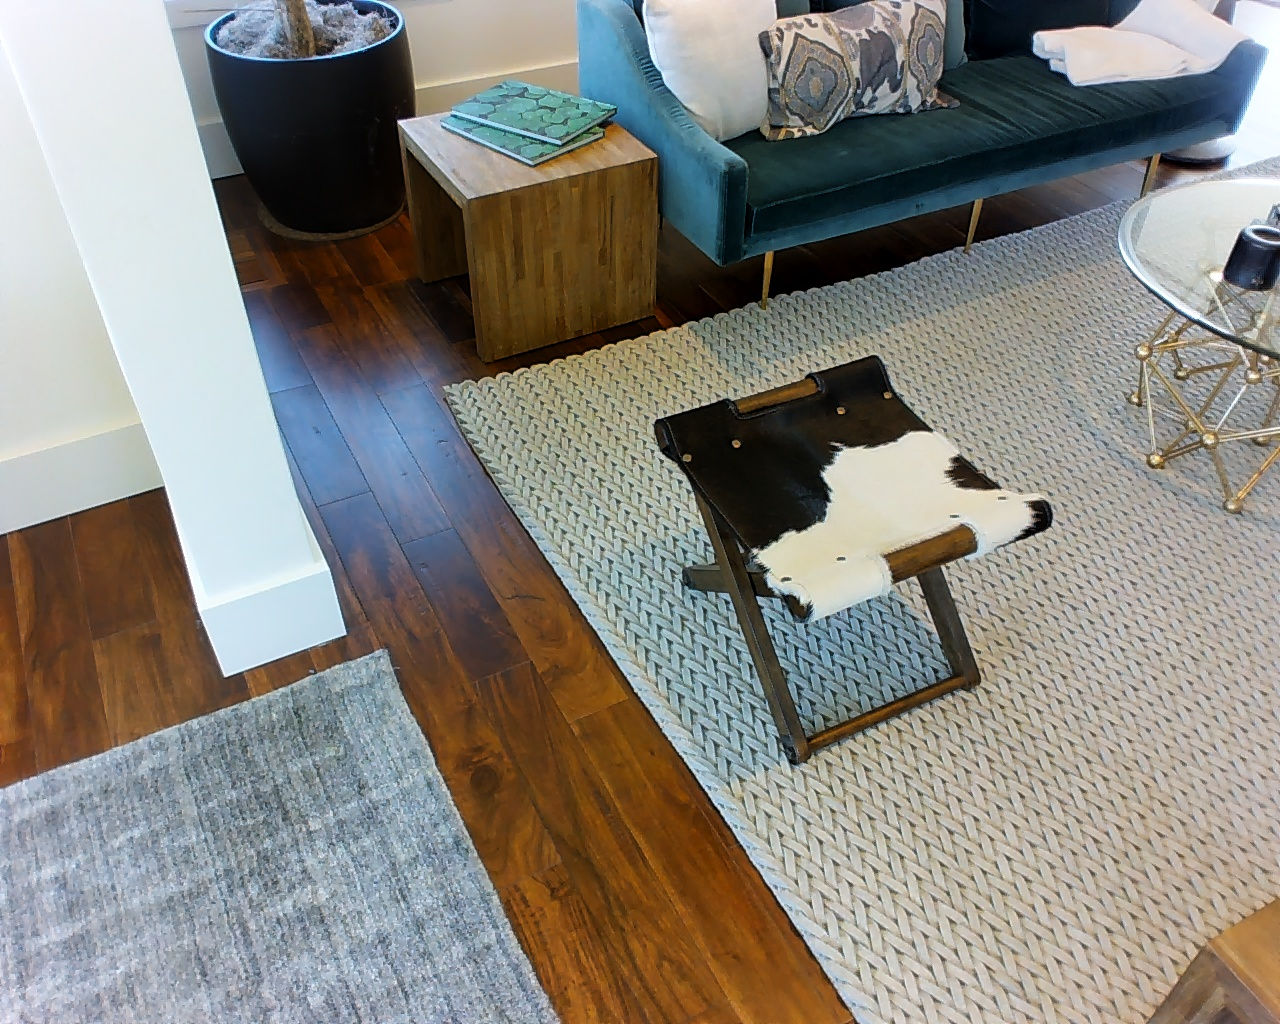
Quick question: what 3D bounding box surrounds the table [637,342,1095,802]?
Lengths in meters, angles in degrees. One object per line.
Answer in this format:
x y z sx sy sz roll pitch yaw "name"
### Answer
0.350 0.080 1.900 0.520 0.430 0.540 -19 45 -20 "table"
